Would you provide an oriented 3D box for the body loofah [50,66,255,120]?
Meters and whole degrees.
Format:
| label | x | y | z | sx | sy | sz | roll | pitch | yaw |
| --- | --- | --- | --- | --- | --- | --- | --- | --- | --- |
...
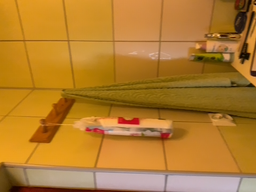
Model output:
| label | x | y | z | sx | sy | sz | roll | pitch | yaw |
| --- | --- | --- | --- | --- | --- | --- | --- | --- | --- |
| body loofah | 0.270 | -0.020 | 0.880 | 0.210 | 1.110 | 0.130 | -82 | -7 | -65 |
